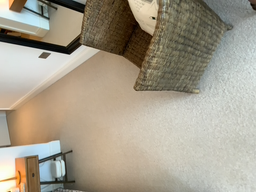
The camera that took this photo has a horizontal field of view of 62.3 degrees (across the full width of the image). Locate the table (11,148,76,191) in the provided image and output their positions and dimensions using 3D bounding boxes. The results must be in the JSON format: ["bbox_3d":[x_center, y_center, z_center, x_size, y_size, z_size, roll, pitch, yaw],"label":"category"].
[{"bbox_3d":[-1.040,0.930,2.620,0.390,0.600,0.450,-21,73,43],"label":"table"}]

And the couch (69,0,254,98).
[{"bbox_3d":[0.180,-0.450,1.360,0.710,0.710,0.620,44,118,37],"label":"couch"}]
